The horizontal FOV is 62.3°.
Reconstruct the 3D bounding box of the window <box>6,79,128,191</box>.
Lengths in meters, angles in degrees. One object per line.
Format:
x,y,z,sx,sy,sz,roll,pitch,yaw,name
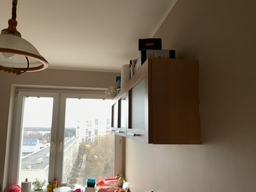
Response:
-0.780,0.580,2.960,1.530,1.550,0.200,2,-8,-8,window

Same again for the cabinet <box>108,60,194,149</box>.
0.030,0.160,1.870,0.260,0.410,1.790,2,-8,-10,cabinet

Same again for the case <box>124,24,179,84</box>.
0.130,-0.240,1.340,0.250,0.250,0.360,2,-8,-10,case
